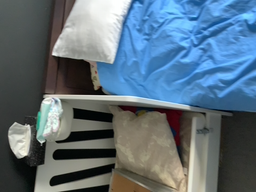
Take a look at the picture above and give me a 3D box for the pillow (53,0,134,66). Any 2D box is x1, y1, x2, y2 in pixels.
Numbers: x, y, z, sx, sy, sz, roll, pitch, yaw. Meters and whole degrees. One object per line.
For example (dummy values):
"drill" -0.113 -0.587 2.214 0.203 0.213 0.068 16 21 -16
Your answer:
"pillow" -0.190 -0.360 1.090 0.390 0.170 0.360 12 92 45

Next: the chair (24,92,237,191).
"chair" 0.010 0.670 1.140 0.730 0.860 1.280 2 85 45
